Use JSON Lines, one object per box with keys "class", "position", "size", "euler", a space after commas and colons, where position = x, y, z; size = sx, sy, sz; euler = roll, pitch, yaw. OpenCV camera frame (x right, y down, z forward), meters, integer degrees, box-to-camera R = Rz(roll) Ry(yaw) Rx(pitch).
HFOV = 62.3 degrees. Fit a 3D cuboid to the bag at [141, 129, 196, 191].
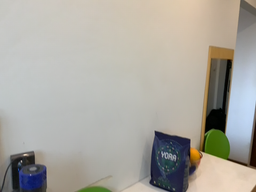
{"class": "bag", "position": [0.230, 0.370, 1.240], "size": [0.160, 0.270, 0.250], "euler": [-7, 13, -44]}
